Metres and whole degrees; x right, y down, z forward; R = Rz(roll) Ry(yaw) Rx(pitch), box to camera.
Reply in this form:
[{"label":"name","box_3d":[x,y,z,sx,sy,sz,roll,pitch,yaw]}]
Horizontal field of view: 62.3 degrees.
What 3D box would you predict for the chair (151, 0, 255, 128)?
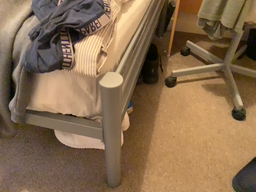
[{"label":"chair","box_3d":[0.530,-0.370,1.000,0.650,0.750,0.660,-3,43,-6]}]
